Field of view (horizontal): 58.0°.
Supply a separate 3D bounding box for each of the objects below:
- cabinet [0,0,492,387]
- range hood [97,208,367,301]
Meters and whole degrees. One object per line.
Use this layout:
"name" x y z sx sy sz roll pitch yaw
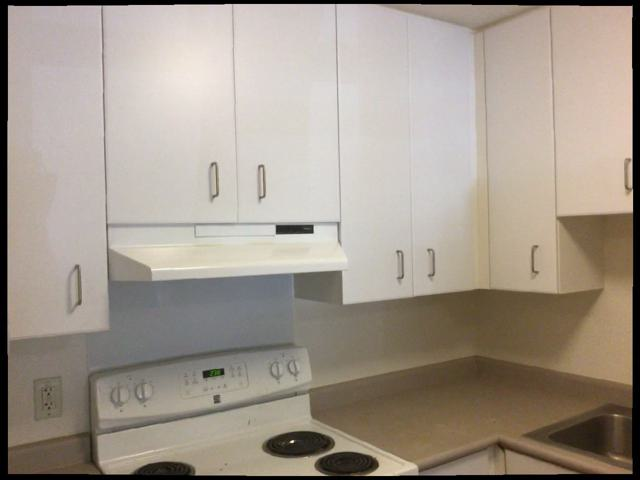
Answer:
"cabinet" -0.170 -0.271 1.970 1.848 1.112 0.350 -5 5 -34
"range hood" -0.230 0.020 1.720 0.779 0.200 0.200 -5 5 -34
